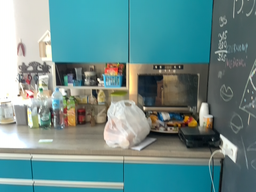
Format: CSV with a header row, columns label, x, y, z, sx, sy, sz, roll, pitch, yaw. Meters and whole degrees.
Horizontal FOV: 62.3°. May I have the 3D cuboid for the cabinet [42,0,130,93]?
label,x,y,z,sx,sy,sz,roll,pitch,yaw
cabinet,-0.310,-0.530,1.740,0.630,0.960,0.340,1,10,2
